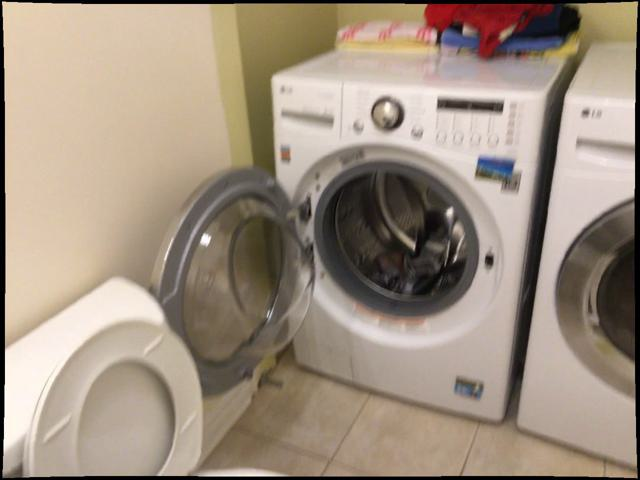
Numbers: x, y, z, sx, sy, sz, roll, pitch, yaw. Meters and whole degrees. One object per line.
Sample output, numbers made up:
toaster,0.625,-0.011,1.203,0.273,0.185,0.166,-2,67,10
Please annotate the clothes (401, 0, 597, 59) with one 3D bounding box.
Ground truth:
clothes,0.499,-0.641,1.610,0.470,0.190,0.280,11,32,26

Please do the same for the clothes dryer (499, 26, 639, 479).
clothes dryer,1.009,0.010,1.570,0.739,0.971,0.900,11,32,26
